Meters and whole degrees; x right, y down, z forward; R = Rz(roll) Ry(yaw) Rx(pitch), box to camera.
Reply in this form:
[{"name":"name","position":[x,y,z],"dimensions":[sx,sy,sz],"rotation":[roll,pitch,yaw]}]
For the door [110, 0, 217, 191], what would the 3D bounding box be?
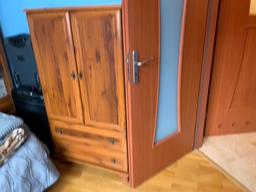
[{"name":"door","position":[0.330,-0.250,1.700],"dimensions":[1.020,2.010,0.090],"rotation":[-20,30,-35]}]
